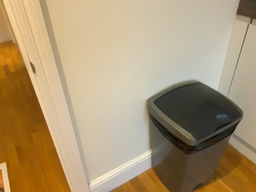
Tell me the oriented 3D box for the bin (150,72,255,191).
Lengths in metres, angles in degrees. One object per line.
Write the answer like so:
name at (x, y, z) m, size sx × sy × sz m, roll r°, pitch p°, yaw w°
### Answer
bin at (0.360, 0.260, 1.100) m, size 0.380 × 0.630 × 0.270 m, roll -21°, pitch 41°, yaw -23°
